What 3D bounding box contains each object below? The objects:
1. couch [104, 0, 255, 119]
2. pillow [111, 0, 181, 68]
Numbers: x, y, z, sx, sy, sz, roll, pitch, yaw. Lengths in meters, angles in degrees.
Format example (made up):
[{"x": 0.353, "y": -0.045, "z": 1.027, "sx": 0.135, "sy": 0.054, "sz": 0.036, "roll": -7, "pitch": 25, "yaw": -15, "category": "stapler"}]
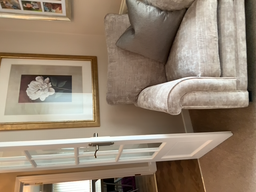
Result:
[{"x": 0.320, "y": -0.350, "z": 1.750, "sx": 0.930, "sy": 0.910, "sz": 0.970, "roll": 175, "pitch": 95, "yaw": -77, "category": "couch"}, {"x": 0.130, "y": -0.520, "z": 1.700, "sx": 0.230, "sy": 0.420, "sz": 0.440, "roll": -79, "pitch": 7, "yaw": -46, "category": "pillow"}]
